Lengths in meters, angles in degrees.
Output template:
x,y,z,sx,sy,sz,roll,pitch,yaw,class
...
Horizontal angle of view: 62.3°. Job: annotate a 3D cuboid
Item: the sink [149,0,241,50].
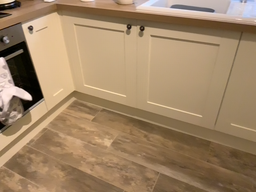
x,y,z,sx,sy,sz,roll,pitch,yaw,class
0.440,-0.510,1.400,0.480,0.190,0.390,16,39,22,sink
